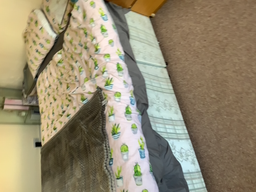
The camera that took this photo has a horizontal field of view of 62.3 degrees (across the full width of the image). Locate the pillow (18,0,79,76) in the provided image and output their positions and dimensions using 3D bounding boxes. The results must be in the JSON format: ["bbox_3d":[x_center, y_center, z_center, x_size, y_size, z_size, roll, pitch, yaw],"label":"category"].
[{"bbox_3d":[-0.820,-0.630,2.040,1.120,0.180,0.360,-36,59,43],"label":"pillow"}]

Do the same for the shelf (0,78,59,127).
[{"bbox_3d":[-1.900,0.100,3.020,0.440,1.640,0.570,-38,58,42],"label":"shelf"}]

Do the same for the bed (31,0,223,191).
[{"bbox_3d":[-0.290,0.180,1.870,1.570,0.580,2.100,-34,60,44],"label":"bed"}]
